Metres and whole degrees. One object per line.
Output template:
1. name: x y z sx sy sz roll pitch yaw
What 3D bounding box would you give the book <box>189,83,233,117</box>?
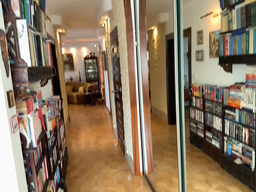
1. book: 1.300 0.020 3.460 0.180 0.370 1.070 -4 9 -7
